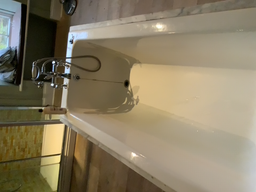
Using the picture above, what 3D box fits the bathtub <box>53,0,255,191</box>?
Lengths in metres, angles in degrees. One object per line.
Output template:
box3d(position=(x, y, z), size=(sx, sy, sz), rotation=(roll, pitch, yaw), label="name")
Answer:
box3d(position=(0.180, -0.010, 1.480), size=(1.870, 0.620, 0.950), rotation=(14, 99, 48), label="bathtub")
